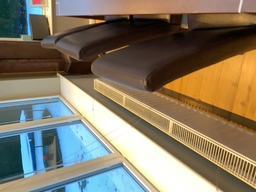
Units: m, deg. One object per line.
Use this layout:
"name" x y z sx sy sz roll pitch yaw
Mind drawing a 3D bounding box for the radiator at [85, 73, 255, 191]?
"radiator" 0.230 0.070 1.530 1.730 0.420 0.140 27 117 52
